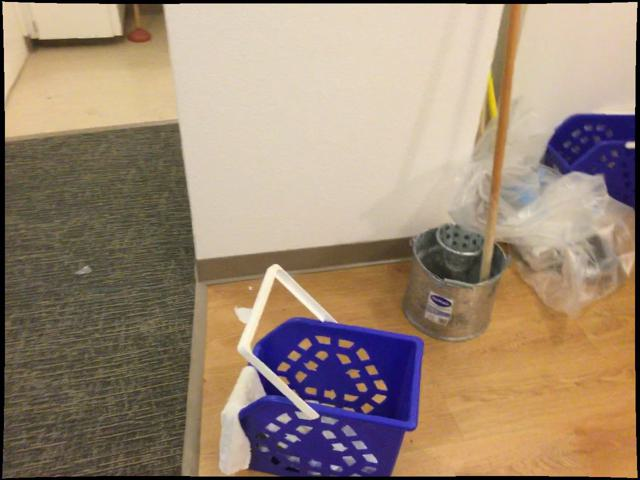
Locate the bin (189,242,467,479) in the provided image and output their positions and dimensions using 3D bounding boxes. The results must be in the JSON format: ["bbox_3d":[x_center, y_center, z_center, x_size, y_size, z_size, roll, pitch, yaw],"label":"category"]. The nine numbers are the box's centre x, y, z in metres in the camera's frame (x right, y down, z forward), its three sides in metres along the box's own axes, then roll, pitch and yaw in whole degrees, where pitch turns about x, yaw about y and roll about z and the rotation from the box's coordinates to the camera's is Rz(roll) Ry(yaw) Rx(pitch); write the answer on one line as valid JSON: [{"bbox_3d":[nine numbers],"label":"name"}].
[{"bbox_3d":[-0.010,0.351,1.350,0.499,0.481,0.400,-8,40,-10],"label":"bin"}]

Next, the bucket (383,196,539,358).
[{"bbox_3d":[0.419,0.110,1.820,0.329,0.331,0.330,-8,40,-10],"label":"bucket"}]

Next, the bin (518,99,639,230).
[{"bbox_3d":[1.137,-0.311,2.300,0.509,0.351,0.320,-8,40,-10],"label":"bin"}]
